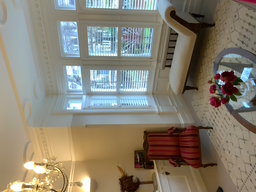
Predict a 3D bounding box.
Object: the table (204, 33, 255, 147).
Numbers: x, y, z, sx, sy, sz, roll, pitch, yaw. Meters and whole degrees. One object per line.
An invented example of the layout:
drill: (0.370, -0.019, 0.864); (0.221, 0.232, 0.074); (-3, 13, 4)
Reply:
table: (1.240, -0.110, 2.030); (1.200, 0.420, 0.580); (-99, 11, -54)
